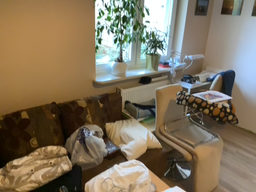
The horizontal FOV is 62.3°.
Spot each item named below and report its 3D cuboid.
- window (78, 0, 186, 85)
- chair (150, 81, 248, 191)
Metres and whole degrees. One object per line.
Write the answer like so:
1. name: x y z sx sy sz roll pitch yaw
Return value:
1. window: 0.120 -0.950 2.820 1.560 1.350 0.270 -13 28 -36
2. chair: 0.680 0.410 2.210 0.480 0.910 0.670 -14 28 -37
